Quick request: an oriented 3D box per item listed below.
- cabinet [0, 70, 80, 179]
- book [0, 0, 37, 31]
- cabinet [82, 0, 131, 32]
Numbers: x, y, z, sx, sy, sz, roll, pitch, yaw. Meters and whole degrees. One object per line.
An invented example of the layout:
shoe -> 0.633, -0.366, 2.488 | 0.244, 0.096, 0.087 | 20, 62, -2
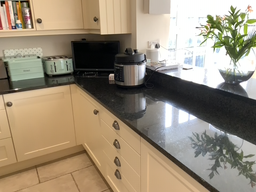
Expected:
cabinet -> -1.240, 0.280, 2.260 | 1.230, 0.880, 0.610 | -11, 21, -27
book -> -1.180, -0.800, 2.060 | 0.480, 0.310, 0.230 | -11, 21, -27
cabinet -> -0.230, -1.060, 2.100 | 0.360, 0.790, 0.410 | -11, 21, -27
